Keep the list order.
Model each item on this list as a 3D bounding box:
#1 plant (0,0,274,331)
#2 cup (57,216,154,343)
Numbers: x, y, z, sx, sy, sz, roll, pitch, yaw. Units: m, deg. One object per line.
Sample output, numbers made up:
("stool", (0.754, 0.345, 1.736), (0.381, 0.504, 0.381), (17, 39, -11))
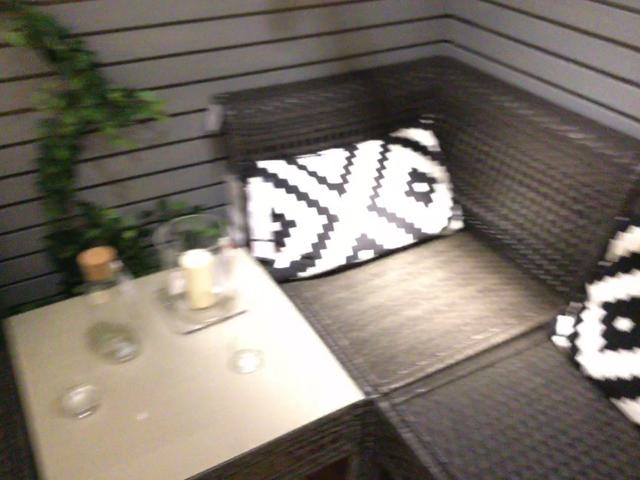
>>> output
("plant", (-0.430, -0.200, 1.540), (0.570, 0.800, 0.170), (-14, 34, -24))
("cup", (-0.510, 0.090, 1.380), (0.160, 0.220, 0.160), (-14, 34, -24))
